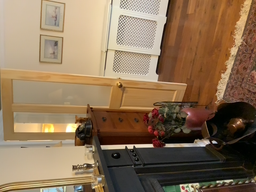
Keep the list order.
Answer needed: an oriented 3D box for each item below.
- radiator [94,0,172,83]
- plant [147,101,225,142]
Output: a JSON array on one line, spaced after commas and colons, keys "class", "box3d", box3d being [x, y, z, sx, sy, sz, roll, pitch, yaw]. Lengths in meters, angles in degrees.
[{"class": "radiator", "box3d": [0.070, -0.950, 3.030, 0.230, 0.930, 1.460, -131, 47, -63]}, {"class": "plant", "box3d": [0.530, 0.230, 1.990, 0.280, 0.610, 0.270, -132, 48, -63]}]
